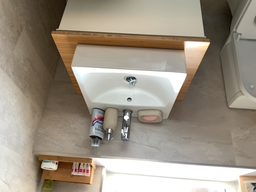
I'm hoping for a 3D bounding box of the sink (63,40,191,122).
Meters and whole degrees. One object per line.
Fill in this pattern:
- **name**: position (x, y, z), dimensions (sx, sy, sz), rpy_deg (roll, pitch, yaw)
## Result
- **sink**: position (0.000, -0.040, 1.010), dimensions (0.470, 0.130, 0.460), rpy_deg (4, 152, 2)
